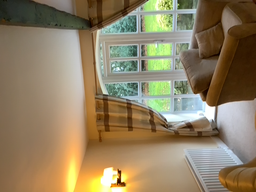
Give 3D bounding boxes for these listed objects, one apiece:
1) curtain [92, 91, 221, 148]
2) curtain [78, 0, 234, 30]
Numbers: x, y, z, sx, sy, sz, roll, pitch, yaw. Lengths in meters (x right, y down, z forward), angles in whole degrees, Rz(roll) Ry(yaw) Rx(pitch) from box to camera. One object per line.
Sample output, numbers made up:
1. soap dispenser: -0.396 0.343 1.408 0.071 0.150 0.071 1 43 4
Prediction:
1. curtain: 0.530 0.430 3.880 0.120 2.290 0.960 -102 10 -80
2. curtain: 0.430 -1.540 3.250 0.170 2.360 0.950 -98 6 -74
